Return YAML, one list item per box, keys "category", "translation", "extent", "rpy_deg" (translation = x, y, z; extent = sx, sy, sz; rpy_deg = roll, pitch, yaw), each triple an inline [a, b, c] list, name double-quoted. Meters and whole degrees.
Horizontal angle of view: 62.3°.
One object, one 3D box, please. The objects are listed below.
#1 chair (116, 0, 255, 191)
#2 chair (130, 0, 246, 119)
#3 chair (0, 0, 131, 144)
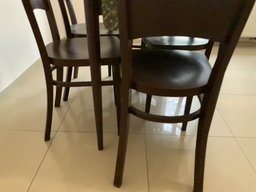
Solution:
- category: "chair"
  translation: [0.180, -0.040, 0.880]
  extent: [0.370, 0.760, 0.480]
  rpy_deg: [6, 30, 6]
- category: "chair"
  translation: [0.300, -0.310, 1.330]
  extent: [0.480, 0.780, 0.420]
  rpy_deg: [-3, 30, -8]
- category: "chair"
  translation: [-0.260, -0.190, 1.100]
  extent: [0.480, 0.760, 0.410]
  rpy_deg: [-1, 30, -6]
